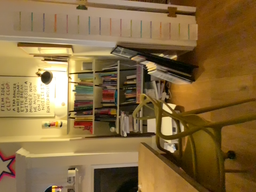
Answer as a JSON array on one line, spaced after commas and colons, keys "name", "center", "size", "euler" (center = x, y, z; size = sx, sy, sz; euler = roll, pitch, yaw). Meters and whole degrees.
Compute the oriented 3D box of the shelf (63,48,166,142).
[{"name": "shelf", "center": [-0.190, -0.010, 3.030], "size": [0.440, 1.380, 1.190], "euler": [177, 93, -79]}]
